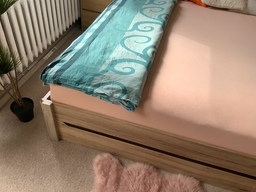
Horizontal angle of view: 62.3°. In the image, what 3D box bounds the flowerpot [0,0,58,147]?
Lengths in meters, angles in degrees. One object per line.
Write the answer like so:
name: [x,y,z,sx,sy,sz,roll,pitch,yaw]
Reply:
flowerpot: [-0.760,-0.240,1.250,0.330,1.140,0.410,19,45,13]
